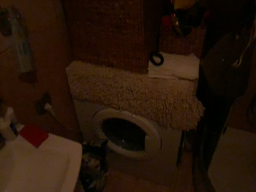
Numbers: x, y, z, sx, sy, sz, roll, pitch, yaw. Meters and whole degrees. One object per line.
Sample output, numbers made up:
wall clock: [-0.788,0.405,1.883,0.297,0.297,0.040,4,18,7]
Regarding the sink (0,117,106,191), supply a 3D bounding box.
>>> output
sink: [-0.350,0.330,0.620,0.380,0.140,0.500,13,44,16]
